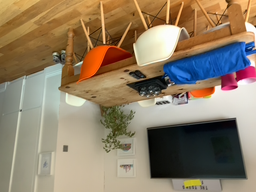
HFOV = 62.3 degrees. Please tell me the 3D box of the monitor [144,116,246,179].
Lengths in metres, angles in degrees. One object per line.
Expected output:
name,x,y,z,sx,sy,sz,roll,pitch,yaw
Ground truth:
monitor,0.810,0.720,2.870,1.270,0.740,0.060,-12,161,30
